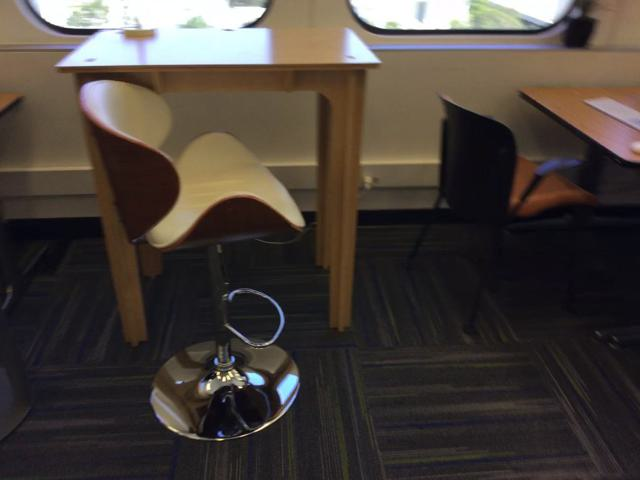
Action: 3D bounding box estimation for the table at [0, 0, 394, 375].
[{"bbox_3d":[-0.360,-0.240,2.130,1.120,1.150,0.730,-6,29,3],"label":"table"}]
